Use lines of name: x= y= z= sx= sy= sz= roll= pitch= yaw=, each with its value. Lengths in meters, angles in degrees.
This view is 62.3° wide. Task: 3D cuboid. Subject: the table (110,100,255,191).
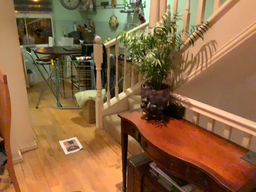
table: x=0.320 y=0.570 z=1.480 sx=0.450 sy=0.750 sz=0.930 roll=-14 pitch=25 yaw=-34
